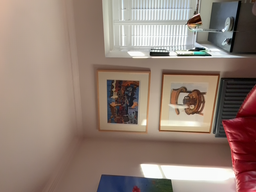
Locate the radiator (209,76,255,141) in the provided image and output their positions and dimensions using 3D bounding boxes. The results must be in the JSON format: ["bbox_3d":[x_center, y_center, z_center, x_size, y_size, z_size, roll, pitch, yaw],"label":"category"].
[{"bbox_3d":[1.480,0.180,2.720,0.130,0.710,0.850,-81,-9,-67],"label":"radiator"}]
